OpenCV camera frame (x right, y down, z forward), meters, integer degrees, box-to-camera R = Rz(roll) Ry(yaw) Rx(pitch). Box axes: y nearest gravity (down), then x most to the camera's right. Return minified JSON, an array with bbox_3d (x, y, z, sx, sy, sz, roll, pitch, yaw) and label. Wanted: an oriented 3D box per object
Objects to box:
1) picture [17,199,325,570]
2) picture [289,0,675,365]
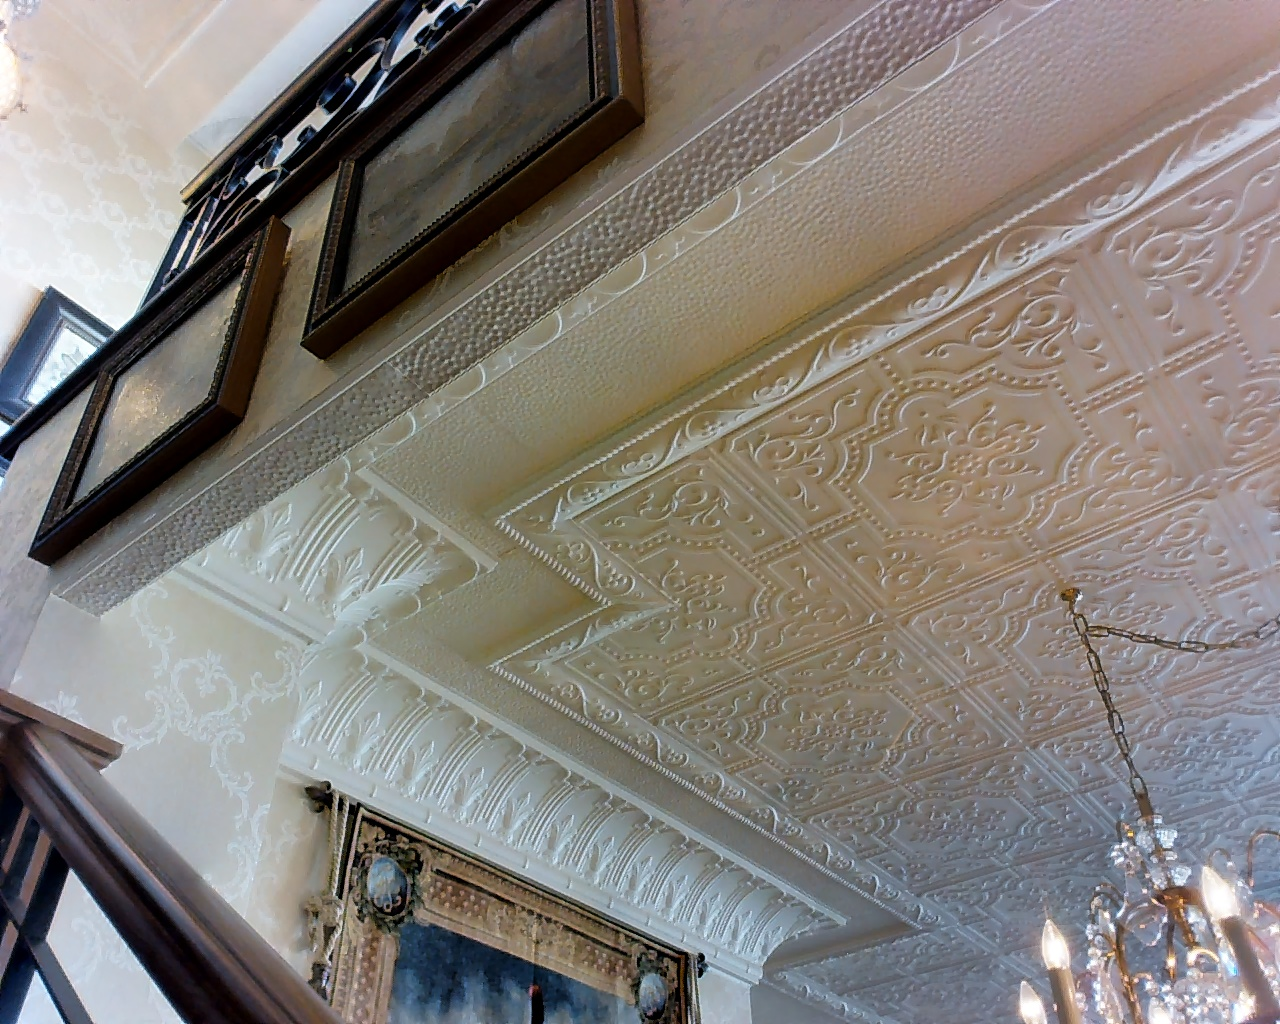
[{"bbox_3d":[-0.650,-0.180,1.500,0.470,0.400,0.050,-28,-49,27],"label":"picture"},{"bbox_3d":[-0.180,-0.430,1.220,0.500,0.390,0.050,-28,-49,27],"label":"picture"}]
